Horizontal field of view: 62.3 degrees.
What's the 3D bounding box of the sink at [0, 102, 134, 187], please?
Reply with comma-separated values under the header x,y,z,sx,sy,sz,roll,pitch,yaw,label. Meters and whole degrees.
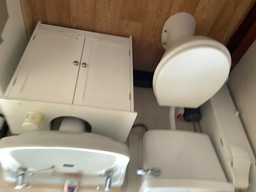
x,y,z,sx,sy,sz,roll,pitch,yaw,label
-0.300,0.260,1.020,0.580,0.220,0.390,6,142,-9,sink
